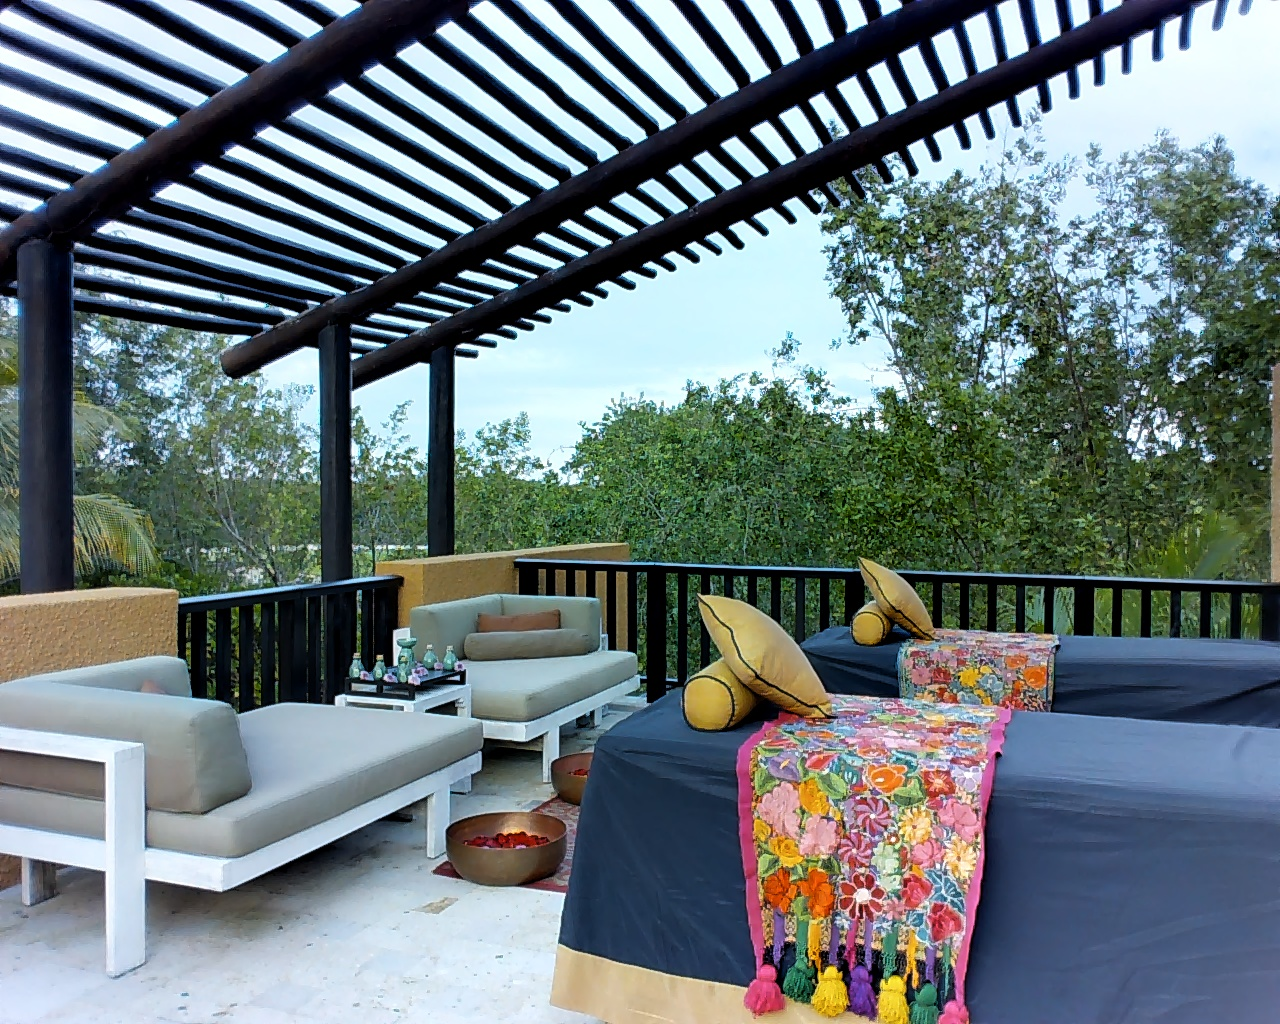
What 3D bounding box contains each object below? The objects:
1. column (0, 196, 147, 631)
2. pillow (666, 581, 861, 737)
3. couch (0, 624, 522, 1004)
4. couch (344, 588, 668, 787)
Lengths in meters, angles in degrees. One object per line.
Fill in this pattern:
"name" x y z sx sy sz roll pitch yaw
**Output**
"column" -2.539 -0.410 4.730 0.510 1.791 0.430 1 1 21
"pillow" 0.360 0.380 2.970 0.390 0.320 0.610 1 1 21
"couch" -1.379 0.930 3.980 1.160 0.770 1.830 1 1 21
"couch" -0.650 0.880 5.950 1.080 0.730 1.740 1 1 21
